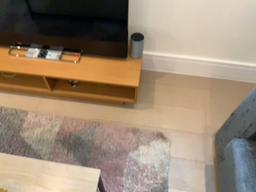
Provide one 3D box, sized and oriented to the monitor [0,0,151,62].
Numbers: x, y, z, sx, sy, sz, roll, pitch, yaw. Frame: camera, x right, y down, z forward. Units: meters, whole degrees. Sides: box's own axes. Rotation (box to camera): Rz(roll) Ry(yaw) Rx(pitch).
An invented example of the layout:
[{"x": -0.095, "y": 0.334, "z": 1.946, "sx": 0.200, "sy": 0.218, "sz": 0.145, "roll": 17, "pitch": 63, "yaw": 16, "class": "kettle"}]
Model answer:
[{"x": -0.440, "y": -0.480, "z": 1.180, "sx": 1.110, "sy": 0.640, "sz": 0.060, "roll": 5, "pitch": 56, "yaw": 2, "class": "monitor"}]
